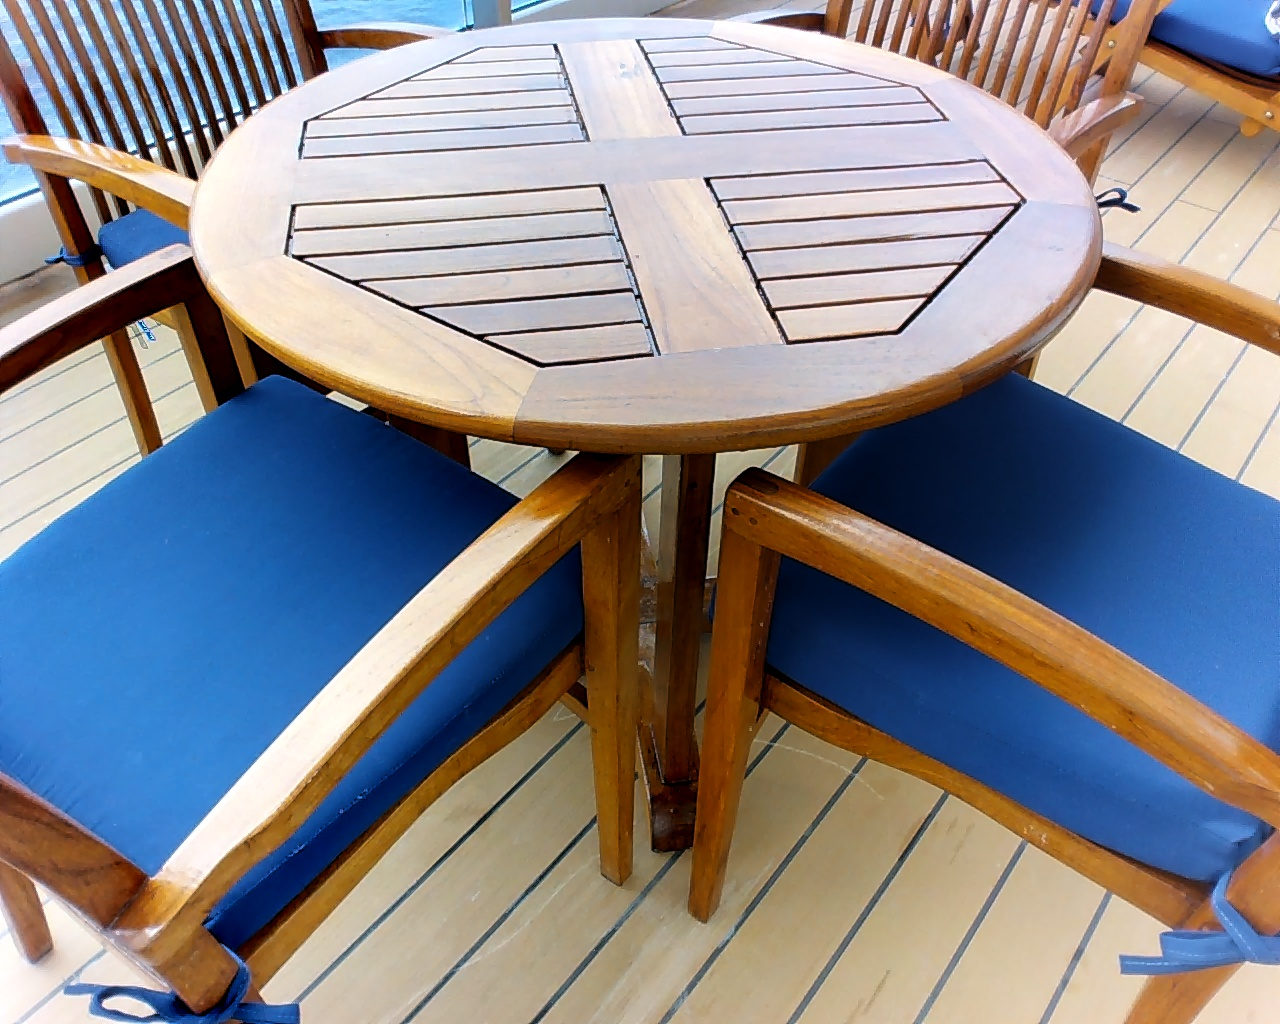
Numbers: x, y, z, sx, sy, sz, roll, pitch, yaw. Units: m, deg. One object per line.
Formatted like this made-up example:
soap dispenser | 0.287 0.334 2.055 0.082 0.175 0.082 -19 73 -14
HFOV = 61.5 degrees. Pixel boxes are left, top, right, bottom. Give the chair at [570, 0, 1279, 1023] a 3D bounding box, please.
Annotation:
chair | 0.400 0.110 0.990 0.660 0.930 0.630 30 50 27

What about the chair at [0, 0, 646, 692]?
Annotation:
chair | -0.460 -0.370 1.560 0.700 0.870 0.590 30 50 26

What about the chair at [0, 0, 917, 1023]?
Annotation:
chair | -0.340 0.090 1.020 0.720 0.890 0.790 30 50 27
